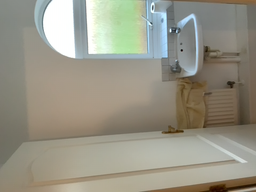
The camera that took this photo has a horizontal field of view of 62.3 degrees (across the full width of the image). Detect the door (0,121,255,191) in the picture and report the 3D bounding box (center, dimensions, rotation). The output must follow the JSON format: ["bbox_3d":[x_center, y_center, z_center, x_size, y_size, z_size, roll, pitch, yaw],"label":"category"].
[{"bbox_3d":[0.320,0.310,1.260,0.820,2.020,0.040,-159,66,-78],"label":"door"}]

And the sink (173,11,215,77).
[{"bbox_3d":[0.510,-0.390,1.680,0.290,0.190,0.450,-174,81,-78],"label":"sink"}]

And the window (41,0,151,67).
[{"bbox_3d":[-0.270,-0.610,1.910,0.070,0.940,0.670,168,99,-78],"label":"window"}]
